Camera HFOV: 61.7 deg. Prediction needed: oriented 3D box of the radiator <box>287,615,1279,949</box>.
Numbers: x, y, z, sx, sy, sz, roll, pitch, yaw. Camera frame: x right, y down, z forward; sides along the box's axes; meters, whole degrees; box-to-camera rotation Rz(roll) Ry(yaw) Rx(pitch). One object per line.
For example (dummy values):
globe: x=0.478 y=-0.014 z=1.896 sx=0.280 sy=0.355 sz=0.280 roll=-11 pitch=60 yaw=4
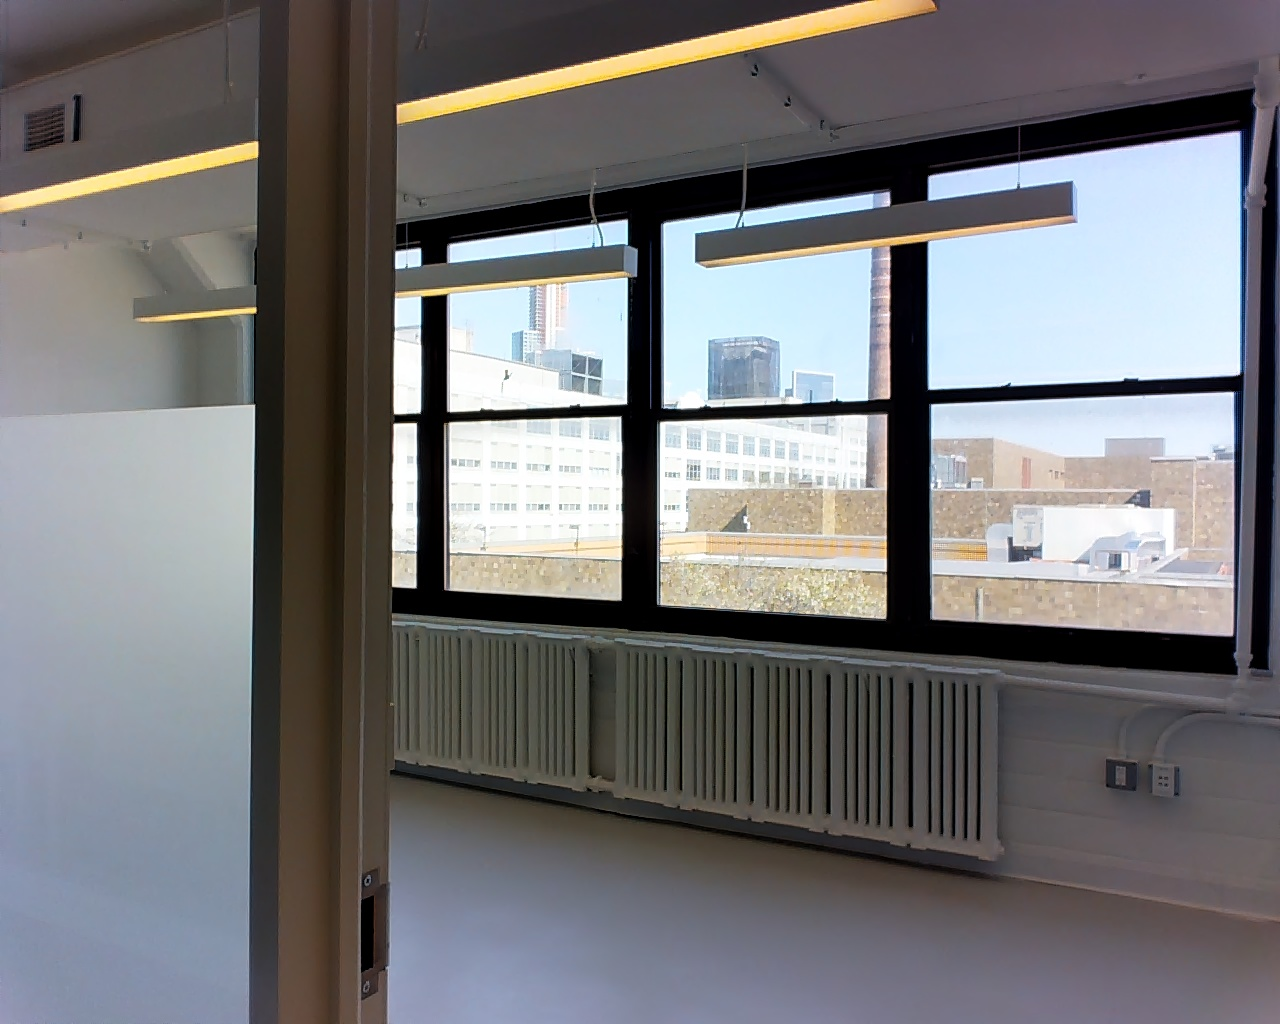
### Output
radiator: x=0.210 y=1.010 z=4.730 sx=4.819 sy=0.820 sz=0.170 roll=1 pitch=0 yaw=30
